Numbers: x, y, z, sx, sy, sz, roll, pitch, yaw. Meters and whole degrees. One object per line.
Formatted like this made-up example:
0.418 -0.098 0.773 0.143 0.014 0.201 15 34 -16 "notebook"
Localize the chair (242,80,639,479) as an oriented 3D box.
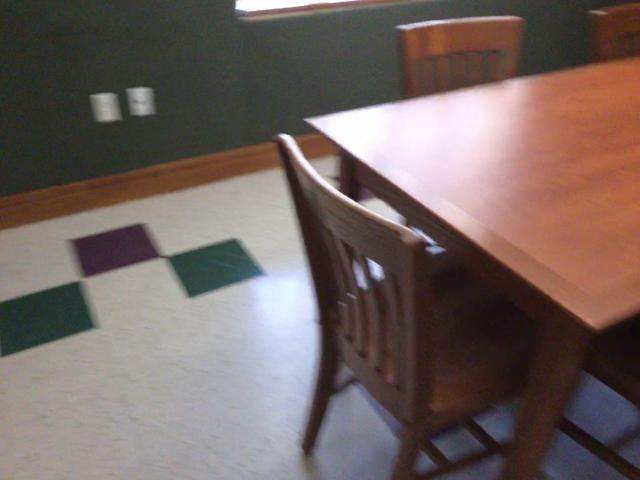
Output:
0.240 0.210 1.250 0.560 0.880 0.540 -18 37 -24 "chair"
